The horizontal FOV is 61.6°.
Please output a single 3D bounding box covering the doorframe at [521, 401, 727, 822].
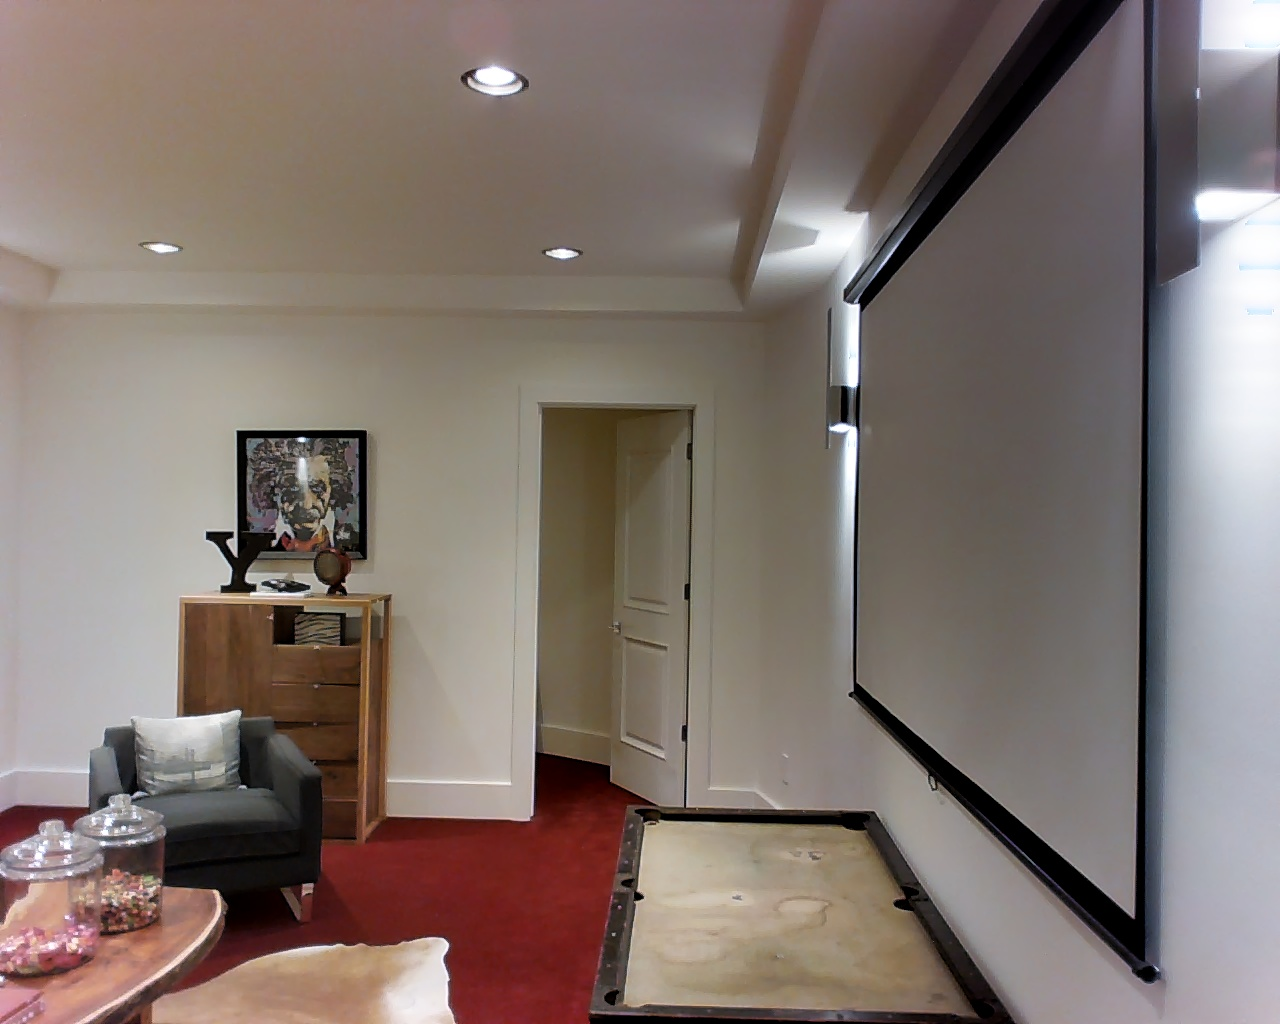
[{"bbox_3d":[-0.080,0.510,5.650,1.030,2.160,0.160,1,0,3],"label":"doorframe"}]
